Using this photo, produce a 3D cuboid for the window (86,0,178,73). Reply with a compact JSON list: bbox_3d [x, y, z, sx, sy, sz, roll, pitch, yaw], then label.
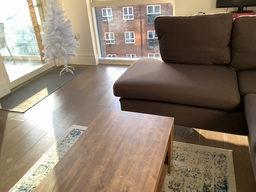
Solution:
[{"bbox_3d":[0.030,-1.450,3.170,1.400,2.180,0.180,6,29,20],"label":"window"}]
